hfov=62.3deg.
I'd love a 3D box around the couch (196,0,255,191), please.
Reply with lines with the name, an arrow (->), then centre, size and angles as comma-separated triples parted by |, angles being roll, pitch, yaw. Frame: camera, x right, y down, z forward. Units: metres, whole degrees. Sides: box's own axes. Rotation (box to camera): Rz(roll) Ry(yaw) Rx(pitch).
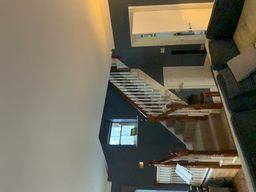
couch -> 1.510, -0.060, 2.410 | 0.760, 1.110, 3.320 | 0, -131, 5

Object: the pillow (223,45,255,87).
pillow -> 1.390, -0.360, 2.560 | 0.090, 0.380, 0.380 | 31, -140, -25
